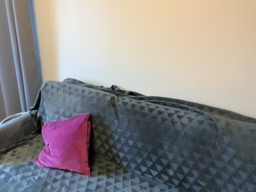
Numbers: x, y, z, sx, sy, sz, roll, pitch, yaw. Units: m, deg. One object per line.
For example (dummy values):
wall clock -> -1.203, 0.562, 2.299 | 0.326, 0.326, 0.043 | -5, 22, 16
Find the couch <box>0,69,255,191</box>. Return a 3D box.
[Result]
couch -> 0.110, 0.510, 1.320 | 2.120, 0.850, 0.980 | 13, 23, 22
